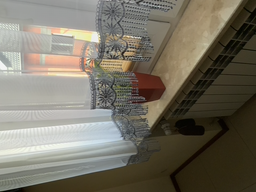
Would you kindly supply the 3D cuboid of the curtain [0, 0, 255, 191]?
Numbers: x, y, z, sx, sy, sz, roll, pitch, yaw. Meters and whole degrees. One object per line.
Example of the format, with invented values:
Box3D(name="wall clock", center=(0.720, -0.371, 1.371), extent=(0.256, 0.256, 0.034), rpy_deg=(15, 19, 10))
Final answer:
Box3D(name="curtain", center=(-0.510, -0.060, 0.520), extent=(1.920, 1.940, 0.190), rpy_deg=(116, 143, -44))
